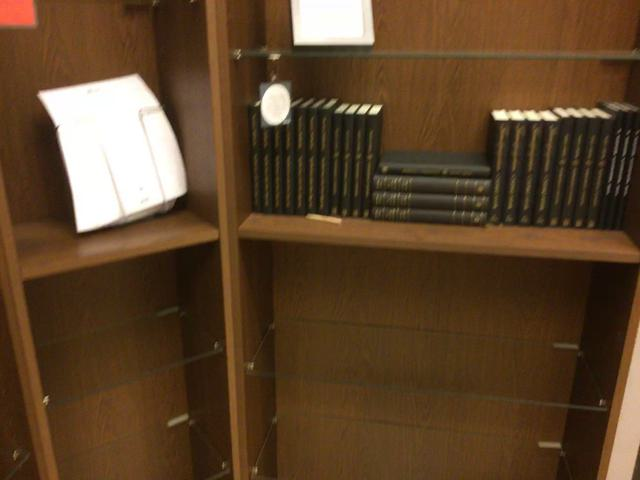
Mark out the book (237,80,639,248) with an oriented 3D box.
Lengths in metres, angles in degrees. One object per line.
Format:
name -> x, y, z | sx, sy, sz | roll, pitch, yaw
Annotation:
book -> 0.230, -0.170, 1.170 | 0.740, 0.270, 0.220 | 3, 22, 10

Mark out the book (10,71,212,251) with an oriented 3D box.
book -> -0.420, -0.180, 1.170 | 0.310, 0.280, 0.260 | -12, 24, -26
